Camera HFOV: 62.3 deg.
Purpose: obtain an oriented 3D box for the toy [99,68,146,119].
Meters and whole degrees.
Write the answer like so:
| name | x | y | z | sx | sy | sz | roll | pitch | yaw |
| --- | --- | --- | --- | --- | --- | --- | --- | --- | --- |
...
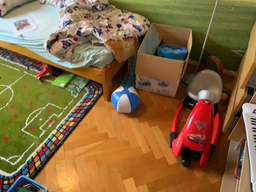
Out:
| name | x | y | z | sx | sy | sz | roll | pitch | yaw |
| --- | --- | --- | --- | --- | --- | --- | --- | --- | --- |
| toy | -0.040 | -0.030 | 1.890 | 0.270 | 0.200 | 0.350 | 20 | 49 | 17 |

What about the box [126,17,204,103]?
| name | x | y | z | sx | sy | sz | roll | pitch | yaw |
| --- | --- | --- | --- | --- | --- | --- | --- | --- | --- |
| box | 0.350 | -0.370 | 2.040 | 0.500 | 0.440 | 0.630 | 20 | 49 | 17 |

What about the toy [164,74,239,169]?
| name | x | y | z | sx | sy | sz | roll | pitch | yaw |
| --- | --- | --- | --- | --- | --- | --- | --- | --- | --- |
| toy | 0.530 | 0.170 | 1.550 | 0.320 | 0.380 | 0.480 | 22 | 49 | 19 |
